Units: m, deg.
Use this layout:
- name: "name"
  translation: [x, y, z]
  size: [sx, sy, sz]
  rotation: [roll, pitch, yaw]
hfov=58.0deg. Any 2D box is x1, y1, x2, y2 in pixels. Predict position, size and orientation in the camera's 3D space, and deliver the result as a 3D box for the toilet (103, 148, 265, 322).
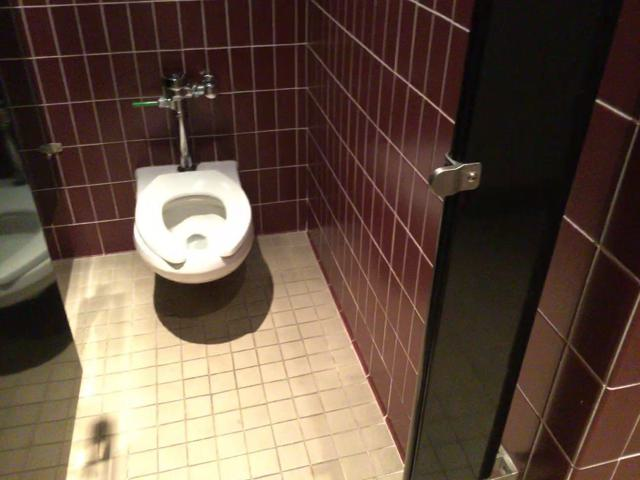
- name: "toilet"
  translation: [-0.430, -0.050, 1.900]
  size: [0.420, 0.240, 0.630]
  rotation: [-6, 33, -9]
